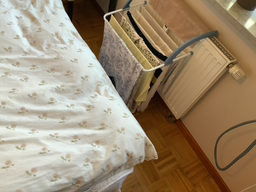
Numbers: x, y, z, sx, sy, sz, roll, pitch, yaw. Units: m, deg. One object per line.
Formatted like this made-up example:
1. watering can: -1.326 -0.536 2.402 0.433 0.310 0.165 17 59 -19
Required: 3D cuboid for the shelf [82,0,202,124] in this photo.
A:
1. shelf: 0.020 -0.310 1.550 0.380 0.610 0.750 -19 64 -28
